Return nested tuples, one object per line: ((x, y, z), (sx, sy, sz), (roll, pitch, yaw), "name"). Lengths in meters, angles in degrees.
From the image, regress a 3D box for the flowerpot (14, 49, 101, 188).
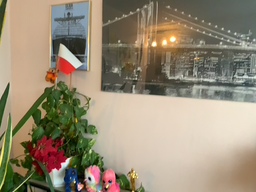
((-0.410, 0.100, 1.260), (0.420, 0.710, 0.250), (4, 7, 23), "flowerpot")
